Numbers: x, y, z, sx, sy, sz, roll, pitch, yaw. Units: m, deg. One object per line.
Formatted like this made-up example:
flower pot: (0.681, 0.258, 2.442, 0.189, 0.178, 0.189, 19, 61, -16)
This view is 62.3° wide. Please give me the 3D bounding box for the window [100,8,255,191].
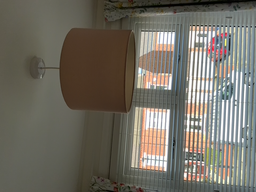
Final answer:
window: (0.730, 0.000, 1.700, 0.210, 1.770, 1.370, 54, -140, -79)
